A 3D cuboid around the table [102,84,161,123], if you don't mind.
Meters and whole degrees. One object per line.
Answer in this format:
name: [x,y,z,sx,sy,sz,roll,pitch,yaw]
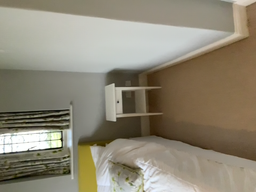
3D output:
table: [0.040,0.090,2.900,0.390,0.680,0.470,171,97,-67]
